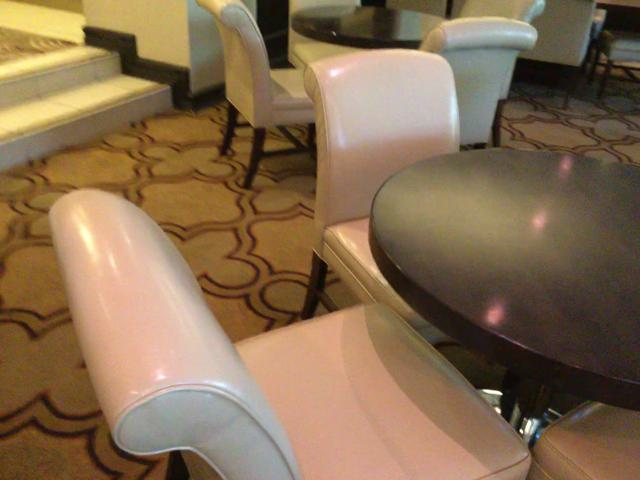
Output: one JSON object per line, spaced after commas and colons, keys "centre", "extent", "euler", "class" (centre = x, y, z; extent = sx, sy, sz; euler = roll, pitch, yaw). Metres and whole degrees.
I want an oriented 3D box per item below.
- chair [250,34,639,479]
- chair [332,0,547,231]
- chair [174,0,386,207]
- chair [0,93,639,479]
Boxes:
{"centre": [0.270, 0.000, 1.700], "extent": [0.610, 0.940, 0.840], "euler": [-16, 36, -26], "class": "chair"}
{"centre": [0.490, -0.670, 2.790], "extent": [0.560, 0.880, 0.830], "euler": [-10, 34, -18], "class": "chair"}
{"centre": [-0.220, -0.780, 2.930], "extent": [0.850, 0.930, 0.600], "euler": [-11, 34, -18], "class": "chair"}
{"centre": [-0.010, 0.320, 1.090], "extent": [0.820, 0.930, 0.610], "euler": [-15, 36, -24], "class": "chair"}
